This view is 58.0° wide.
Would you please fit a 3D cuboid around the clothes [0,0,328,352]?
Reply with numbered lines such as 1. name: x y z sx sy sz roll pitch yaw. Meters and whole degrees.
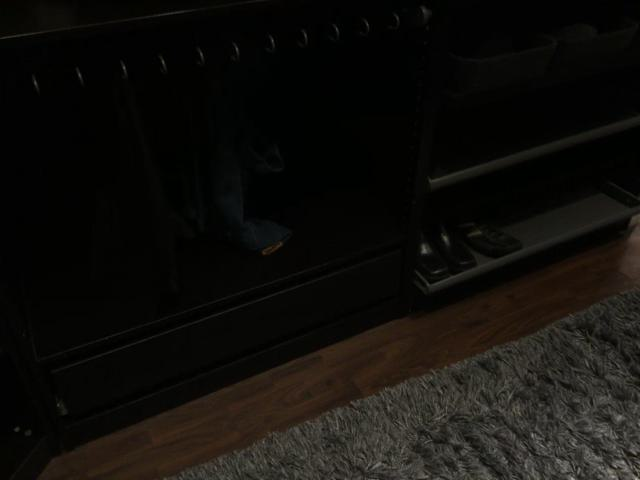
1. clothes: -0.360 -0.210 1.380 0.540 0.590 0.520 -21 40 -21
